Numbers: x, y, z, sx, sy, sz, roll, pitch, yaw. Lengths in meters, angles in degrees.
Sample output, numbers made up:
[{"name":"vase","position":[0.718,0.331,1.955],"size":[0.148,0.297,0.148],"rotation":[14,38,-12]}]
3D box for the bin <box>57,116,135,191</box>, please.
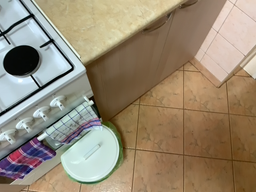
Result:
[{"name":"bin","position":[-0.160,0.340,1.190],"size":[0.310,0.330,0.220],"rotation":[-38,73,-15]}]
